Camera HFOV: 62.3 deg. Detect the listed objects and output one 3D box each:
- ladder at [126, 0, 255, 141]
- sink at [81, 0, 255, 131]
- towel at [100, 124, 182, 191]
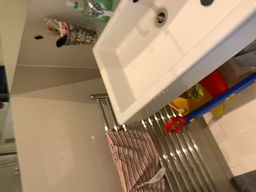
[{"bbox_3d":[0.380,-0.110,1.200,0.540,0.450,0.470,-46,58,45],"label":"ladder"},{"bbox_3d":[0.080,-0.230,0.700,0.620,0.150,0.460,-45,58,45],"label":"sink"},{"bbox_3d":[0.060,0.310,0.970,0.080,0.280,0.320,-46,58,45],"label":"towel"}]
